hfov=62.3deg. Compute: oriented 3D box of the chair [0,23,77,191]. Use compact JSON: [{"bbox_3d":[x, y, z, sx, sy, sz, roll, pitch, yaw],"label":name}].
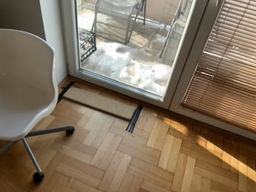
[{"bbox_3d":[-0.770,0.070,1.240,0.660,0.720,0.630,19,45,10],"label":"chair"}]
